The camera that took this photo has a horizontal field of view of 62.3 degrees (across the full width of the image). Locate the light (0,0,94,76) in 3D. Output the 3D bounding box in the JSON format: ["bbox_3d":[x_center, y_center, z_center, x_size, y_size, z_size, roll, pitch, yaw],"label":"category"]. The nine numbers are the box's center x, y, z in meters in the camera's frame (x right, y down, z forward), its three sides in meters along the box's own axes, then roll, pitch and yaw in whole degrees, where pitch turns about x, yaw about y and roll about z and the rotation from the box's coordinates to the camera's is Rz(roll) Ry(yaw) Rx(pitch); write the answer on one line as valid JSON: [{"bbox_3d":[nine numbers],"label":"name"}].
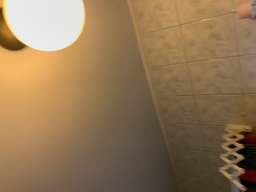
[{"bbox_3d":[-0.270,-0.230,0.620,0.290,0.220,0.200,13,-18,-5],"label":"light"}]
